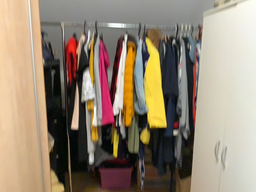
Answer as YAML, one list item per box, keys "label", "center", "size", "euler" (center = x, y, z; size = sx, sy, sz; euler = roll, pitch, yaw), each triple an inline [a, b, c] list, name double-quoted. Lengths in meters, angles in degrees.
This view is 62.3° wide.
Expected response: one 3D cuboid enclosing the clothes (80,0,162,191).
- label: "clothes"
  center: [-0.080, 0.050, 2.000]
  size: [0.510, 1.530, 1.070]
  euler: [0, 12, -3]
